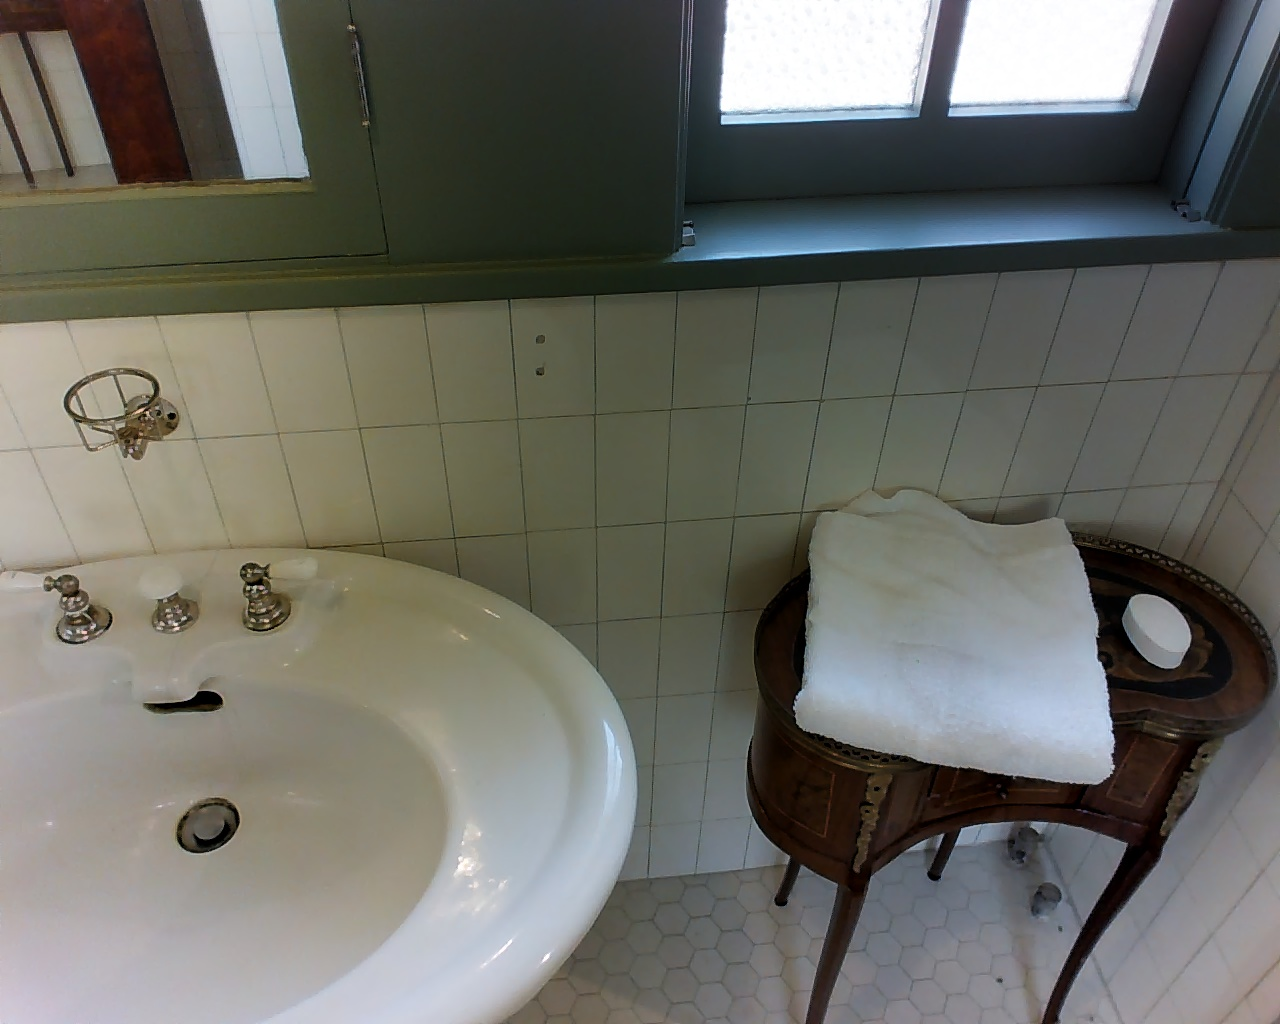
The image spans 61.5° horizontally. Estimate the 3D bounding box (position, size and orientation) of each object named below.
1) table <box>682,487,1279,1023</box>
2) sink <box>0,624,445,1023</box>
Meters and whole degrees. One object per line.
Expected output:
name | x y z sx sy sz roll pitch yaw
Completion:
table | 0.400 0.390 1.370 0.600 0.750 0.360 -4 43 -7
sink | -0.420 0.310 0.950 0.470 0.180 0.350 -4 43 -7
